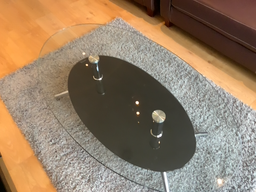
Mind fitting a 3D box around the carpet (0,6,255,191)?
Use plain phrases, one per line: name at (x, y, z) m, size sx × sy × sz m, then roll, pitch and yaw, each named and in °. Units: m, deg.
carpet at (-0.020, 0.040, 1.390) m, size 1.250 × 0.060 × 1.780 m, roll -35°, pitch 60°, yaw -21°
